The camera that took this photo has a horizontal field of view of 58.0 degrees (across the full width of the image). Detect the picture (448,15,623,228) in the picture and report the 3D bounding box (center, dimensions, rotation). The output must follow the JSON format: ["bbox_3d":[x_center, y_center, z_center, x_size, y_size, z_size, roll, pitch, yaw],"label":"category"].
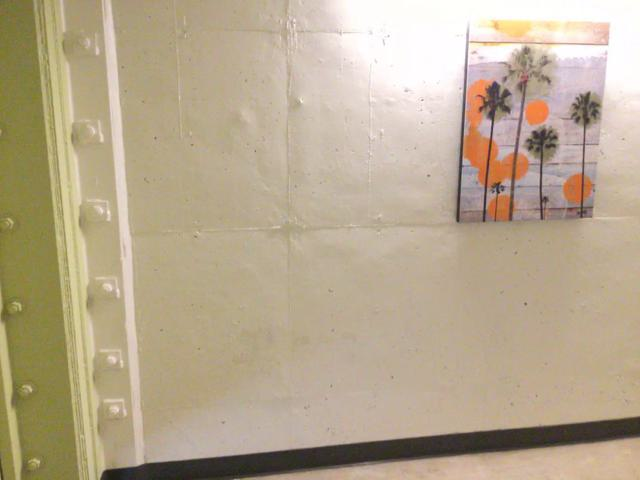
[{"bbox_3d":[0.840,-0.440,2.260,0.640,0.780,0.070,0,7,-10],"label":"picture"}]
